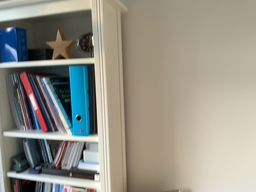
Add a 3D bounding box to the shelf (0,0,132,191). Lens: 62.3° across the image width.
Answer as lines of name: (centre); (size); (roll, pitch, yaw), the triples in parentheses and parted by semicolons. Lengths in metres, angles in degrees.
shelf: (-0.360, 0.490, 1.160); (0.690, 1.880, 0.330); (-1, 6, 16)
